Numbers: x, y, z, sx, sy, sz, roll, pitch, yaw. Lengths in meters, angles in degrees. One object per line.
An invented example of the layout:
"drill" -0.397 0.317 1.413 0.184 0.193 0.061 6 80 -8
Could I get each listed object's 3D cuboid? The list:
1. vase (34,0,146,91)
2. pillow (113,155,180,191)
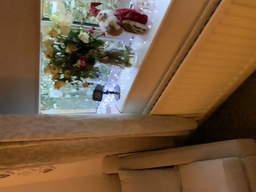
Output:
"vase" -0.260 -0.310 1.220 0.480 0.510 0.320 114 146 -43
"pillow" 0.170 0.770 1.580 0.110 0.430 0.540 75 178 -74
